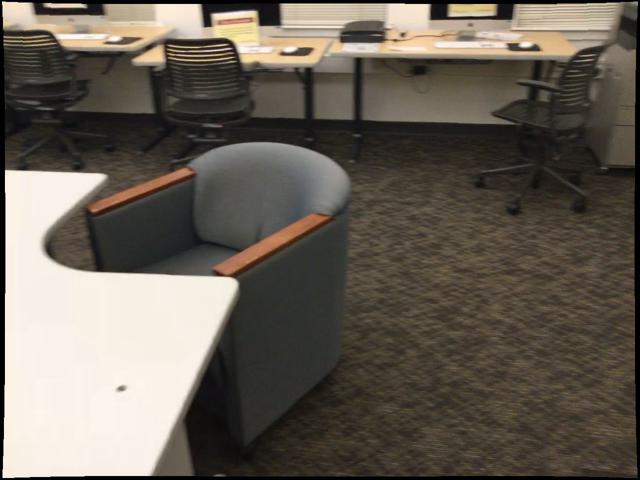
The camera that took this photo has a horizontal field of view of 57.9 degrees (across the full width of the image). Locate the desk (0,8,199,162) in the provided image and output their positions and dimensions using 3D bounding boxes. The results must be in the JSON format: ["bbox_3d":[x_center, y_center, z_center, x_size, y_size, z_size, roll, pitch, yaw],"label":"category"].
[{"bbox_3d":[-1.678,-1.151,4.160,1.269,0.851,0.850,4,30,10],"label":"desk"}]

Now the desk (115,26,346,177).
[{"bbox_3d":[-0.509,-0.981,3.910,1.239,0.721,0.970,4,30,10],"label":"desk"}]

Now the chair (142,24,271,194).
[{"bbox_3d":[-0.649,-0.801,3.470,0.609,0.821,0.590,-6,30,-7],"label":"chair"}]

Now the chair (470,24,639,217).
[{"bbox_3d":[1.249,-0.671,3.140,0.510,0.831,0.570,-23,36,-32],"label":"chair"}]

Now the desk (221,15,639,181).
[{"bbox_3d":[0.659,-0.981,3.770,2.348,0.781,0.860,4,30,10],"label":"desk"}]
